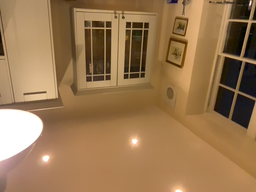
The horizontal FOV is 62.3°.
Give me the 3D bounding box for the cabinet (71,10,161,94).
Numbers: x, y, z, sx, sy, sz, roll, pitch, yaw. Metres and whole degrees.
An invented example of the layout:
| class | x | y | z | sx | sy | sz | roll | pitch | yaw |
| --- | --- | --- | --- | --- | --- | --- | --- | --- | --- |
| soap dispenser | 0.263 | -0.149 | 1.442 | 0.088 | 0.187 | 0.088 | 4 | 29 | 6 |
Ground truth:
| class | x | y | z | sx | sy | sz | roll | pitch | yaw |
| --- | --- | --- | --- | --- | --- | --- | --- | --- | --- |
| cabinet | -0.160 | -0.580 | 2.780 | 1.050 | 0.970 | 0.330 | -6 | -157 | -21 |
